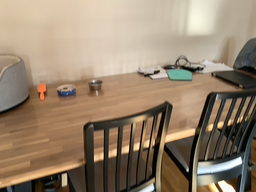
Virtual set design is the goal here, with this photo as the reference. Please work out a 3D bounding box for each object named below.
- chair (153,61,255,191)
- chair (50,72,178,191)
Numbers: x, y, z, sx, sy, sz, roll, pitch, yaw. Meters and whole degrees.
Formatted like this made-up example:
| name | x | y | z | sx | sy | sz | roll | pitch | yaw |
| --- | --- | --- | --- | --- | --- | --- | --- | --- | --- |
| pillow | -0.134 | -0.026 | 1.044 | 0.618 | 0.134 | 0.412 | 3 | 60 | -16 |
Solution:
| name | x | y | z | sx | sy | sz | roll | pitch | yaw |
| --- | --- | --- | --- | --- | --- | --- | --- | --- | --- |
| chair | 0.490 | 0.310 | 1.420 | 0.470 | 0.950 | 0.520 | -6 | 24 | -12 |
| chair | -0.090 | 0.420 | 1.190 | 0.410 | 0.950 | 0.520 | -14 | 27 | -27 |
